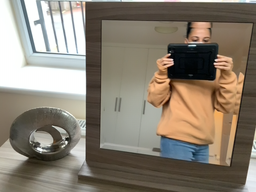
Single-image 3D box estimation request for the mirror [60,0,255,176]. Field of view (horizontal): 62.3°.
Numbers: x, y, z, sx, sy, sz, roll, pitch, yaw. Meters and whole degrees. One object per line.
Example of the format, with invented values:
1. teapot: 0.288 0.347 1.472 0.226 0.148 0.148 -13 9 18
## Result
1. mirror: 0.100 -0.030 0.660 0.590 0.500 0.140 18 40 2
